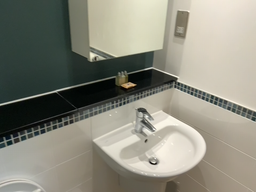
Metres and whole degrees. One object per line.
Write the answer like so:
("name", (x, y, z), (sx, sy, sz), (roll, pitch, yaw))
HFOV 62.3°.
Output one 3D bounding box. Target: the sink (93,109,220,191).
("sink", (0.160, 0.310, 1.180), (0.560, 0.170, 0.410), (-18, 33, -37))
